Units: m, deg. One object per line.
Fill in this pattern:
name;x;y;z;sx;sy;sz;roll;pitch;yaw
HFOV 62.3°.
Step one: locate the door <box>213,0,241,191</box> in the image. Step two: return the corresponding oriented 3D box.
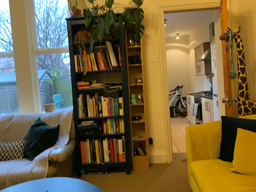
door;1.160;-0.010;2.490;0.190;1.960;0.850;-2;4;24
